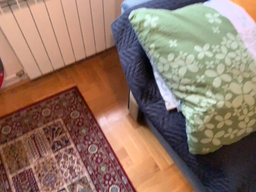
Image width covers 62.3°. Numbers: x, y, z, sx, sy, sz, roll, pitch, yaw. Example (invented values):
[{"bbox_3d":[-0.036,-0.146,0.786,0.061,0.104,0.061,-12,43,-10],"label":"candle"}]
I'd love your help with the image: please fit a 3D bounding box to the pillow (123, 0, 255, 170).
[{"bbox_3d":[0.390,-0.140,0.830,0.640,0.310,0.540,-22,62,-16],"label":"pillow"}]
